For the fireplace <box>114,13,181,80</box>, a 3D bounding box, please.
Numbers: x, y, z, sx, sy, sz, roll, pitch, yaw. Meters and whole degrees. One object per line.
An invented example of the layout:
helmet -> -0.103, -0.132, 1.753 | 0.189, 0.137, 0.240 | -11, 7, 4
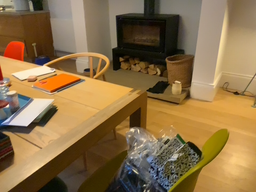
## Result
fireplace -> 0.260, -0.770, 3.160 | 0.840, 0.810, 0.430 | 17, 31, 29

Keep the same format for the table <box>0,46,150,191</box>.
table -> -0.980, 0.210, 1.420 | 1.990, 0.780, 0.950 | 17, 31, 29

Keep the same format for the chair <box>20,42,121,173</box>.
chair -> -0.440, 0.040, 1.740 | 0.500, 0.800, 0.580 | -21, 34, -37
